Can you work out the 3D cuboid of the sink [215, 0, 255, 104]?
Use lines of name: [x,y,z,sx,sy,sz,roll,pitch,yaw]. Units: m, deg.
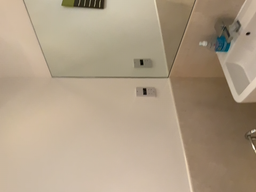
sink: [0.690,-0.270,1.120,0.530,0.140,0.410,97,171,-57]
